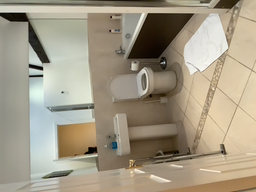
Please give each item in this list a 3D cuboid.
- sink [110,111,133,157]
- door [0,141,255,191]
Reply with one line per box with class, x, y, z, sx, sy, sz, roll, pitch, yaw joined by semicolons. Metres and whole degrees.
sink;-0.100;0.520;2.870;0.440;0.190;0.560;131;134;-72
door;0.110;0.360;1.040;0.950;2.040;0.070;134;131;-73
